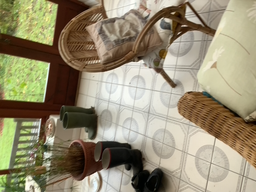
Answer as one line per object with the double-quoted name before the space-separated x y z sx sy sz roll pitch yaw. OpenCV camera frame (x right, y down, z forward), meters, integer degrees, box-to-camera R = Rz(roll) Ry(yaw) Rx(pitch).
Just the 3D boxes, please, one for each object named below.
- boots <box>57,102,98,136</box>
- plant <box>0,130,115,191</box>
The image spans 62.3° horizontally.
"boots" -0.560 0.250 2.350 0.210 0.340 0.320 14 95 47
"plant" -0.650 0.670 1.960 0.430 0.910 0.590 13 95 47
